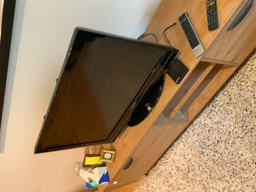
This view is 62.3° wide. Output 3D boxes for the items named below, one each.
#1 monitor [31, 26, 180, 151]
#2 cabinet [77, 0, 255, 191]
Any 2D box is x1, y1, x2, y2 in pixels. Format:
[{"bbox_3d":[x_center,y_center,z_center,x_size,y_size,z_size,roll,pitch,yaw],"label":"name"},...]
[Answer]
[{"bbox_3d":[-0.140,0.030,1.120,0.760,0.520,0.060,-53,52,34],"label":"monitor"},{"bbox_3d":[0.220,0.020,1.510,0.430,0.530,1.900,56,131,34],"label":"cabinet"}]
